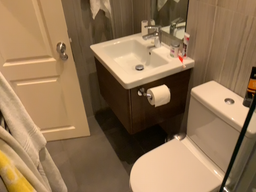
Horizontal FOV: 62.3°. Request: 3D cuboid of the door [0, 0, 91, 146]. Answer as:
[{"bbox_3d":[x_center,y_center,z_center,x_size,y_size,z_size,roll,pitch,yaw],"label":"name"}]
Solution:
[{"bbox_3d":[-0.760,-0.370,1.380,0.740,1.950,0.050,-6,37,-3],"label":"door"}]
